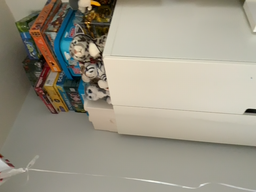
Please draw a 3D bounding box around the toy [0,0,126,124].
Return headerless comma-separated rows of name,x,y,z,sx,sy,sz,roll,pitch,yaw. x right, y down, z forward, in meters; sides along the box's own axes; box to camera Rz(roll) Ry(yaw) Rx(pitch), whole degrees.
toy,-0.380,-0.200,1.210,0.570,0.660,0.450,85,-170,-56
